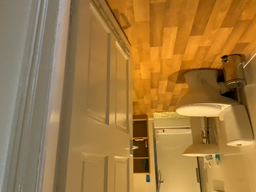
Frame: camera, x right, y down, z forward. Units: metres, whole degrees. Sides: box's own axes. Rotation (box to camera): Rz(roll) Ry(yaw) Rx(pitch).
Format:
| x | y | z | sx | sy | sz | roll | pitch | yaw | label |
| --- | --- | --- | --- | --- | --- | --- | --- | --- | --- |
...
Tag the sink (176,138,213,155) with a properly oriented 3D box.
| x | y | z | sx | sy | sz | roll | pitch | yaw | label |
| --- | --- | --- | --- | --- | --- | --- | --- | --- | --- |
| 1.000 | 0.790 | 3.290 | 0.440 | 0.200 | 0.530 | -3 | 162 | 6 | sink |
